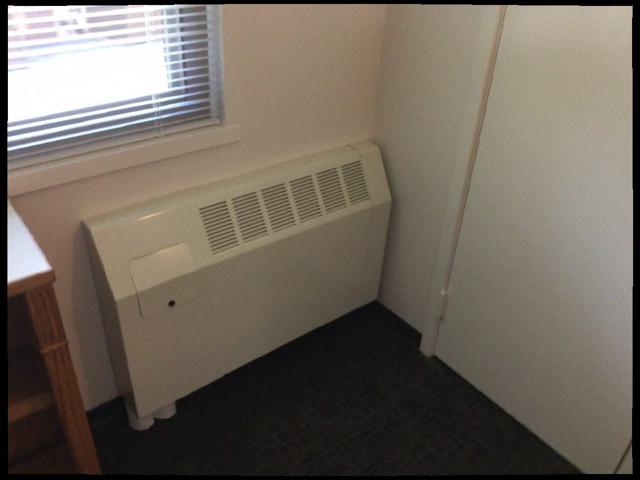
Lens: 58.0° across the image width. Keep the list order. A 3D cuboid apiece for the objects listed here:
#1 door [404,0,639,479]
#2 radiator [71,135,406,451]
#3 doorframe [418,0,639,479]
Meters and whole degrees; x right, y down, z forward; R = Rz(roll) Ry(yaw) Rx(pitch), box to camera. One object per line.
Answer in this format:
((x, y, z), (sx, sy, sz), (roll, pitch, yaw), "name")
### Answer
((0.619, -0.020, 1.350), (0.100, 1.322, 0.850), (-22, 41, -33), "door")
((-0.170, 0.120, 1.690), (0.929, 0.641, 0.160), (-22, 41, -33), "radiator")
((0.629, 0.000, 1.360), (0.070, 1.382, 0.760), (-22, 41, -33), "doorframe")
